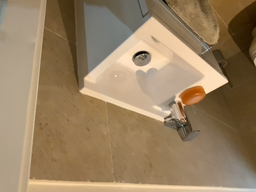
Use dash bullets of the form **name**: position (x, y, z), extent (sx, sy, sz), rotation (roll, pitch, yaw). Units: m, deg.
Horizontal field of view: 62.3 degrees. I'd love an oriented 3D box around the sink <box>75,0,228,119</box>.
- **sink**: position (0.080, -0.100, 0.690), extent (0.410, 0.170, 0.270), rotation (21, 137, -40)
